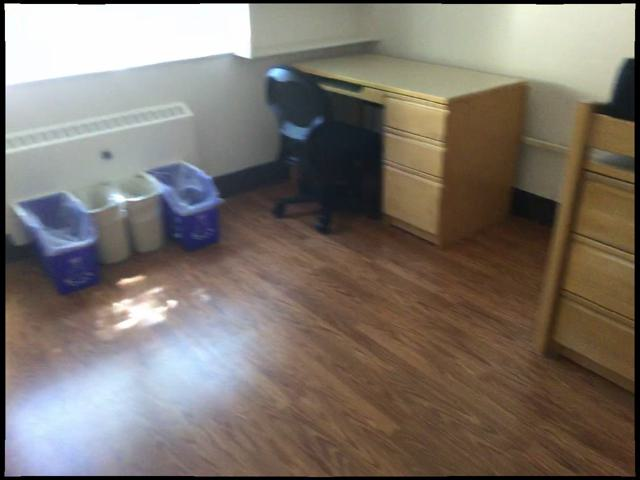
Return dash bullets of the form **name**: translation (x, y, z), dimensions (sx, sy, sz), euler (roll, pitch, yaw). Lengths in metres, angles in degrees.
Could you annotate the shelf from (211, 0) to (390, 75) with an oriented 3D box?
- **shelf**: translation (-0.090, -1.553, 3.250), dimensions (1.049, 1.012, 0.320), euler (-22, 34, -32)
